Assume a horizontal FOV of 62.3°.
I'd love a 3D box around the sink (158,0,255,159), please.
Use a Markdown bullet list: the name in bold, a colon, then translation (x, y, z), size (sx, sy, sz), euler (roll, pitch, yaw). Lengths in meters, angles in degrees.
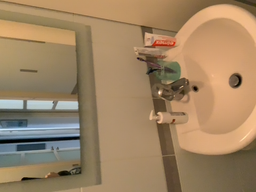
- **sink**: translation (0.390, -0.070, 0.830), size (0.470, 0.240, 0.550), euler (141, 127, -58)
